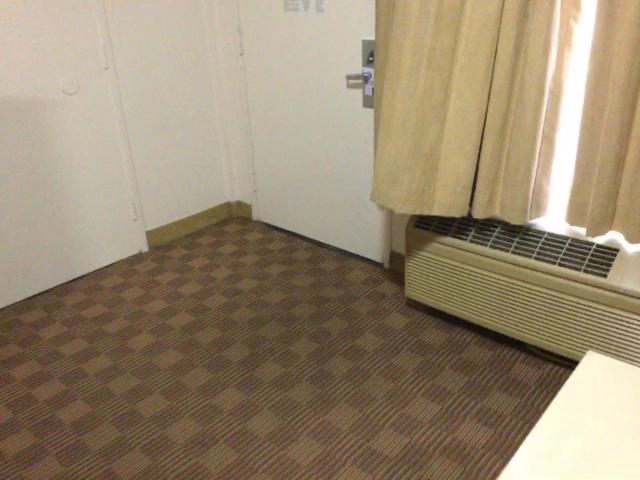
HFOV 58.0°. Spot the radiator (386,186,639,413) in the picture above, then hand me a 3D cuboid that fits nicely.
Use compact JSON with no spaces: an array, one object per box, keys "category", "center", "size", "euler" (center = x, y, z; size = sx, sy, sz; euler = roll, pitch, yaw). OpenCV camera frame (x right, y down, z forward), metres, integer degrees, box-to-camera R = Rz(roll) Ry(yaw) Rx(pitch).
[{"category":"radiator","center":[0.760,0.180,2.060],"size":[1.120,0.510,0.200],"euler":[18,30,38]}]
